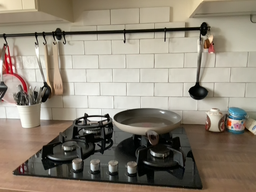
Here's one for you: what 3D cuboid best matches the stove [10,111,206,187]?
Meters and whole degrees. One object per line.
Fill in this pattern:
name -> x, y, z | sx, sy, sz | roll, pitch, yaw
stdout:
stove -> -0.040, 0.170, 0.900 | 0.590, 0.050, 0.560 | 1, 12, 7
